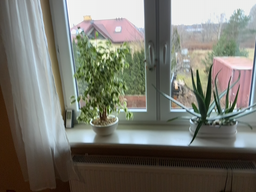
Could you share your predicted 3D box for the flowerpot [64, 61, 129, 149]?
[{"bbox_3d":[-0.190,0.050,1.480,0.330,0.530,0.310,0,17,9],"label":"flowerpot"}]
